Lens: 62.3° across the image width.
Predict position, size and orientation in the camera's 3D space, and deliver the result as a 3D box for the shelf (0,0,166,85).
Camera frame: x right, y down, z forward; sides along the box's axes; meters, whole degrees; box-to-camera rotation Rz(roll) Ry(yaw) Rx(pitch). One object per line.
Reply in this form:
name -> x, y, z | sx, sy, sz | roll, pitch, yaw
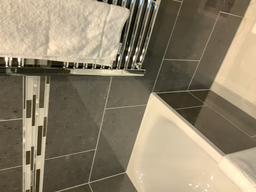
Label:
shelf -> -0.210, -0.260, 0.820 | 0.110, 0.710, 0.420 | 49, 133, 44
